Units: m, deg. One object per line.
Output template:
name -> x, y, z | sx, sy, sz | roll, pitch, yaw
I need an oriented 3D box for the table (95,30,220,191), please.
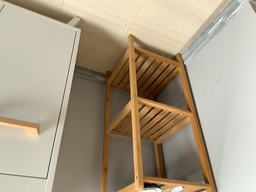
table -> 0.090, 0.110, 1.050 | 0.360, 0.760, 0.350 | 16, 140, -23
